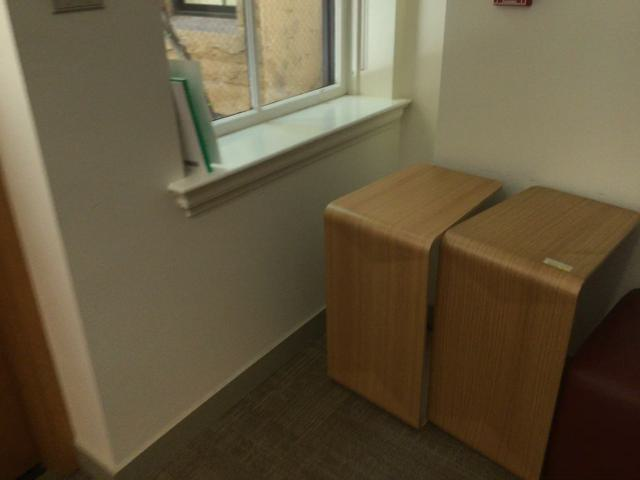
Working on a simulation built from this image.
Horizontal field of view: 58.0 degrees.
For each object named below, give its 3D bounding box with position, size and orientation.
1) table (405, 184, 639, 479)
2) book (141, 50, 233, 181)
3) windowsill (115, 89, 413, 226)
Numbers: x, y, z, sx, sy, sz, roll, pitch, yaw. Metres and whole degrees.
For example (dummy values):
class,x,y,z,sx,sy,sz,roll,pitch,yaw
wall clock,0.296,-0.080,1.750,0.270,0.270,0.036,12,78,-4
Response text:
class,x,y,z,sx,sy,sz,roll,pitch,yaw
table,0.560,0.250,1.620,0.420,0.640,0.480,17,30,34
book,-0.320,-0.310,1.420,0.110,0.280,0.160,17,30,34
windowsill,-0.090,-0.310,1.820,0.240,0.150,1.090,17,30,34
